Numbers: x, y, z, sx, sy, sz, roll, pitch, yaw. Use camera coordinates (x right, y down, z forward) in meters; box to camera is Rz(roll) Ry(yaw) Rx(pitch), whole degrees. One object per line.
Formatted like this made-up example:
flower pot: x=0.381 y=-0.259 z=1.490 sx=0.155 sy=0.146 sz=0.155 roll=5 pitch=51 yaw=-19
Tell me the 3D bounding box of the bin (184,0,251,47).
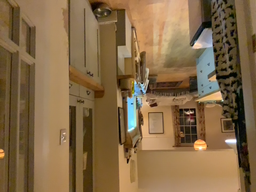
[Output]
bin: x=0.610 y=-0.800 z=1.580 sx=0.280 sy=0.710 sz=0.500 roll=-3 pitch=175 yaw=4
